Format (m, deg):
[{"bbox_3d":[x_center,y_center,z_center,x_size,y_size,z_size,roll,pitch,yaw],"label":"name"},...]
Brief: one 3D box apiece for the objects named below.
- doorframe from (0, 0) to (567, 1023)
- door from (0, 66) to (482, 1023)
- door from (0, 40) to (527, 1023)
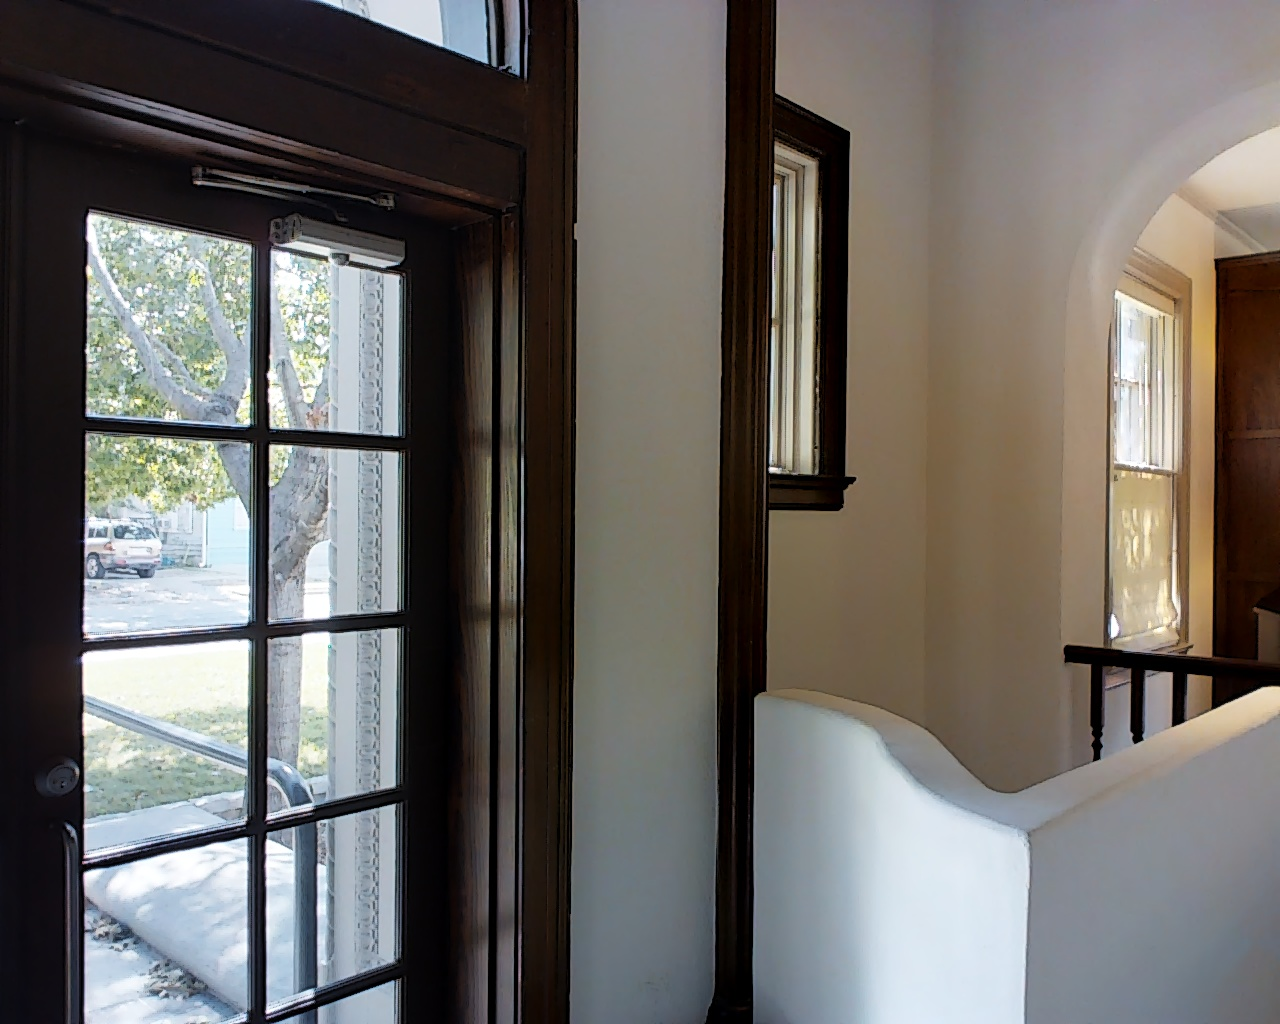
[{"bbox_3d":[-0.830,-0.220,1.530,0.190,3.300,1.770,2,1,43],"label":"doorframe"},{"bbox_3d":[-0.650,0.400,1.860,0.050,2.060,0.870,2,1,43],"label":"door"},{"bbox_3d":[-0.860,0.400,1.540,0.200,2.030,1.620,2,1,43],"label":"door"}]
